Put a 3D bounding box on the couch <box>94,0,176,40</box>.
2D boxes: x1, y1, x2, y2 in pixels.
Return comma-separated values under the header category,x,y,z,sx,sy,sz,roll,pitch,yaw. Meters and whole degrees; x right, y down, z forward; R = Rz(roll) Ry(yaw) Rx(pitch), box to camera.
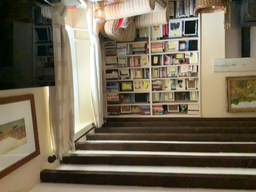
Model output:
category,x,y,z,sx,sy,sz,roll,pitch,yaw
couch,0.170,-1.480,3.680,1.050,0.750,1.080,1,-174,26
